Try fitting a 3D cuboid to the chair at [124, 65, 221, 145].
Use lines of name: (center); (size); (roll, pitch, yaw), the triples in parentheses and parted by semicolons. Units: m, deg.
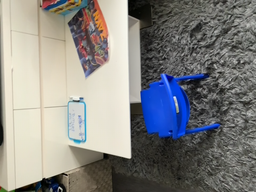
chair: (0.250, 0.060, 1.190); (0.360, 0.340, 0.340); (-15, 81, 38)
